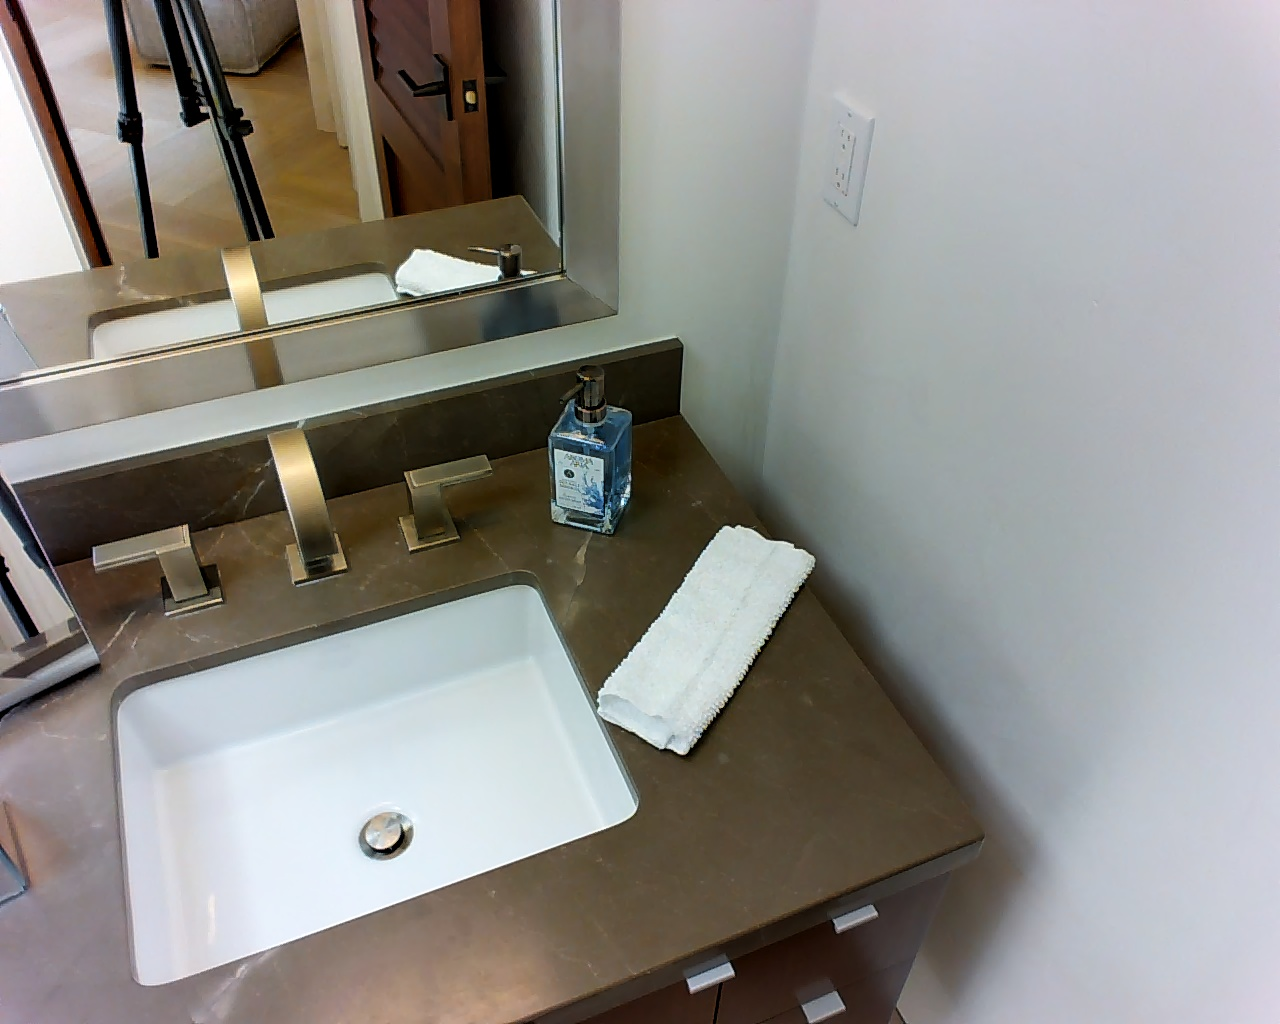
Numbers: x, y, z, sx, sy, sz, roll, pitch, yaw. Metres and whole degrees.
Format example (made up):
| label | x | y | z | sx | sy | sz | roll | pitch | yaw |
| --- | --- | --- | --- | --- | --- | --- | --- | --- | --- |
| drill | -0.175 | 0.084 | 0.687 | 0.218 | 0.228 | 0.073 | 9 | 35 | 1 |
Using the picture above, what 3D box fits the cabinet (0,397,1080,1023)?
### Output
| label | x | y | z | sx | sy | sz | roll | pitch | yaw |
| --- | --- | --- | --- | --- | --- | --- | --- | --- | --- |
| cabinet | -0.250 | 0.440 | 1.170 | 1.020 | 0.650 | 0.690 | -15 | 44 | -17 |
